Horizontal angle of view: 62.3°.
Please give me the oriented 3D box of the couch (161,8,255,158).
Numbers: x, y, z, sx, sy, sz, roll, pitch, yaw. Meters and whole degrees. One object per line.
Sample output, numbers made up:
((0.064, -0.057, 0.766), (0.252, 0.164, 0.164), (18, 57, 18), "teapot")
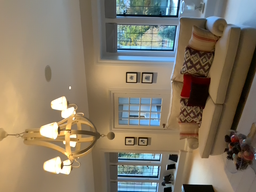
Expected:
((1.220, -0.180, 3.520), (1.080, 1.000, 2.210), (-89, 0, -60), "couch")

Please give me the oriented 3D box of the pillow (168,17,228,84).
((1.060, -0.670, 3.220), (0.790, 0.530, 0.290), (53, -167, -25), "pillow")

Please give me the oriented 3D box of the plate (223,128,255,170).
((1.200, 0.540, 2.190), (0.330, 0.250, 0.260), (-89, 0, -61), "plate")
